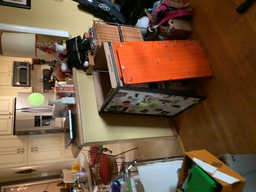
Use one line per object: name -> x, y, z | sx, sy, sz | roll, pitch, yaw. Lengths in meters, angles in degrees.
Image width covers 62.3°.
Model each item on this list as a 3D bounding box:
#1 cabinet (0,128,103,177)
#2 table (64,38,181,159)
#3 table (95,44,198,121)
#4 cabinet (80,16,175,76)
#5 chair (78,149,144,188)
cabinet -> -1.760, 1.210, 4.660 | 0.500, 2.250, 0.700 | 125, 138, -51
table -> -0.140, -0.010, 2.580 | 0.460, 1.080, 1.300 | 124, 139, -50
table -> 0.160, -0.120, 2.220 | 0.450, 0.840, 0.590 | 126, 137, -52
cabinet -> -0.020, -0.550, 2.480 | 0.440, 0.960, 0.390 | 119, 142, -46
chair -> -0.260, 1.040, 3.110 | 0.420, 0.840, 0.400 | 145, 121, -60
